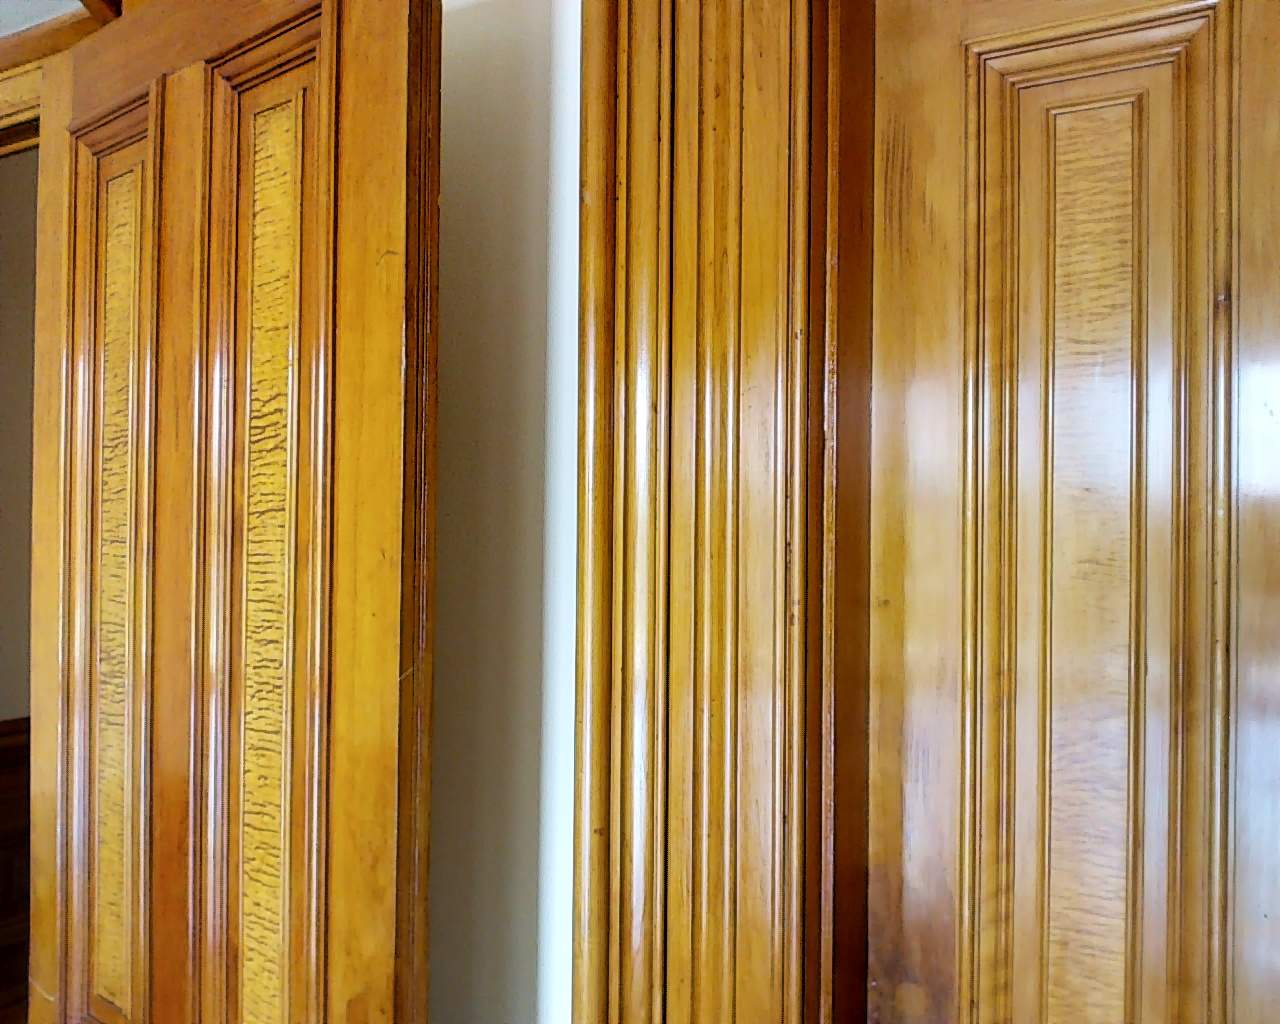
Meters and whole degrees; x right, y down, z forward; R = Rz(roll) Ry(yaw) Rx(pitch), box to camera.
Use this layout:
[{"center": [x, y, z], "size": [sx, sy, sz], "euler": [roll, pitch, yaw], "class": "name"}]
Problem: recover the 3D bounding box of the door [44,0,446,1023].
[{"center": [-0.550, 0.410, 1.350], "size": [0.890, 2.210, 0.050], "euler": [0, -1, 42], "class": "door"}]
